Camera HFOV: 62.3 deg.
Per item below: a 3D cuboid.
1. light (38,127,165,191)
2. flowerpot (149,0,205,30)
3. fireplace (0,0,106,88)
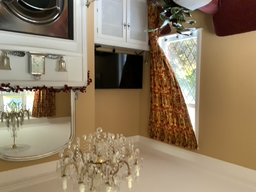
[{"bbox_3d":[-0.210,0.750,1.630,0.670,0.750,0.630,14,-169,34],"label":"light"},{"bbox_3d":[0.660,-1.410,2.860,0.510,0.840,0.540,-2,-175,-36],"label":"flowerpot"},{"bbox_3d":[-1.070,-0.930,2.520,1.540,1.640,0.600,-3,-175,-39],"label":"fireplace"}]
